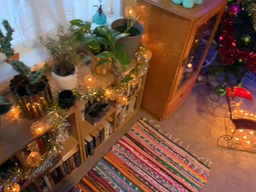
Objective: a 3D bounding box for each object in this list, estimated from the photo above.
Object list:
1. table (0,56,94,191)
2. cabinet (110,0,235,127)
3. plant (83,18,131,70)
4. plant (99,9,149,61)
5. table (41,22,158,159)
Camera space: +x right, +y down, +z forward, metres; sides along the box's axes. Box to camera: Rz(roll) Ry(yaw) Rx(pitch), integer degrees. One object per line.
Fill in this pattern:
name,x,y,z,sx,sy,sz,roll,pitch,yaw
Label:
table,-0.570,0.290,1.130,0.370,0.690,0.660,36,54,23
cabinet,0.270,-0.350,1.640,0.550,0.920,0.580,36,54,23
plant,-0.110,-0.280,1.130,0.180,0.160,0.160,35,53,23
plant,-0.030,-0.360,1.240,0.240,0.170,0.150,36,54,24
table,-0.170,-0.030,1.470,0.370,0.680,0.570,36,54,23
